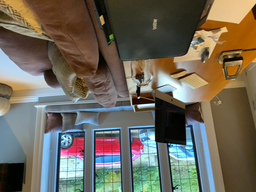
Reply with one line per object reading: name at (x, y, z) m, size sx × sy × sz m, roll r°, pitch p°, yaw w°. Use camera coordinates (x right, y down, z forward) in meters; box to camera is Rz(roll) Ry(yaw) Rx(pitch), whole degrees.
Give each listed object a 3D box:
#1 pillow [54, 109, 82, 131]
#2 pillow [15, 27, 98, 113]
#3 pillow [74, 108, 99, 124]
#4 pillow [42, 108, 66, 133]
pillow at (-1.050, 0.430, 3.750) m, size 0.430 × 0.330 × 0.200 m, roll 10°, pitch 158°, yaw -36°
pillow at (-0.540, -0.170, 1.800) m, size 0.240 × 0.420 × 0.680 m, roll 30°, pitch 167°, yaw 13°
pillow at (-0.730, 0.350, 3.720) m, size 0.420 × 0.230 × 0.190 m, roll 2°, pitch 162°, yaw -16°
pillow at (-1.280, 0.440, 3.700) m, size 0.280 × 0.370 × 0.290 m, roll -5°, pitch 163°, yaw 4°
